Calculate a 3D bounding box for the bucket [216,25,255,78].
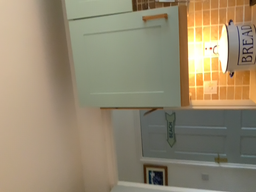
[{"bbox_3d":[0.690,-0.280,1.340,0.270,0.210,0.290,-38,-54,-69],"label":"bucket"}]
